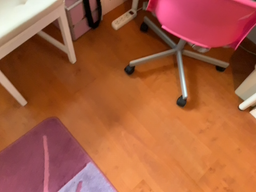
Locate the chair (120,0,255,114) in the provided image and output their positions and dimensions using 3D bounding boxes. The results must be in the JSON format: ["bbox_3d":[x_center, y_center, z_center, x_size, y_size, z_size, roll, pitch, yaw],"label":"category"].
[{"bbox_3d":[0.350,-0.390,1.040,0.670,0.800,0.650,7,65,-3],"label":"chair"}]

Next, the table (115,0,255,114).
[{"bbox_3d":[0.400,-0.680,1.220,0.450,0.720,1.460,-38,75,-20],"label":"table"}]
